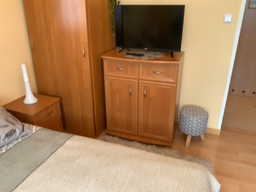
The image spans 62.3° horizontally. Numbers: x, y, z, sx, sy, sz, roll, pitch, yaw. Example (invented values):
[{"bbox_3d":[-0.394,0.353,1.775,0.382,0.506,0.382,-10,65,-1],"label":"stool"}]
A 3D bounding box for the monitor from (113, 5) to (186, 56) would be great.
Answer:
[{"bbox_3d":[0.190,-0.690,2.200,0.740,0.470,0.050,10,25,21],"label":"monitor"}]
